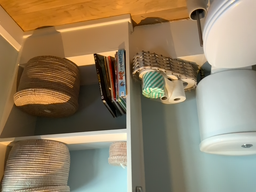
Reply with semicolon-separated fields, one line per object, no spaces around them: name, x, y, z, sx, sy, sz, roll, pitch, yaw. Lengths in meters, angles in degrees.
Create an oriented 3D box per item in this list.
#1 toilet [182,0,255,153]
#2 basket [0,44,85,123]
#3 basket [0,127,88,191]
toilet;0.510;-0.220;0.970;0.400;0.800;0.690;-5;154;10
basket;-0.490;-0.050;1.280;0.320;0.300;0.380;-5;153;9
basket;-0.460;0.380;1.100;0.370;0.310;0.360;-6;153;11
